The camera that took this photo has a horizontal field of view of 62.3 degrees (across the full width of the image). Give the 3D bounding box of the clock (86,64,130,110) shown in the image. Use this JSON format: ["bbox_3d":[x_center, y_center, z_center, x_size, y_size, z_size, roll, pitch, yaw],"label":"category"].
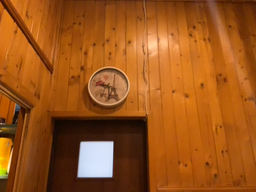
[{"bbox_3d":[-0.140,-0.070,1.540,0.300,0.340,0.040,1,-20,-2],"label":"clock"}]
